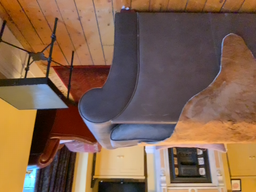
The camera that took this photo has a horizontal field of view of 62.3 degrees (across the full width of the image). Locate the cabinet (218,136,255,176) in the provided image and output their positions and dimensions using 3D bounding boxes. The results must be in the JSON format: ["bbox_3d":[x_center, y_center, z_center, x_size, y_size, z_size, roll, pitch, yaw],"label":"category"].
[{"bbox_3d":[2.990,1.510,5.330,1.190,0.940,0.340,0,158,-1],"label":"cabinet"}]

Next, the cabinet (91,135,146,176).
[{"bbox_3d":[-0.220,1.510,5.310,1.280,0.930,0.570,0,158,0],"label":"cabinet"}]
